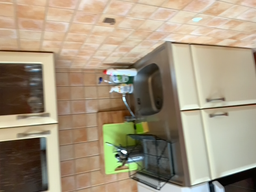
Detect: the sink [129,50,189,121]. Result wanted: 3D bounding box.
[{"bbox_3d":[0.200,-0.050,1.520,0.410,0.180,0.430,-19,75,63],"label":"sink"}]
